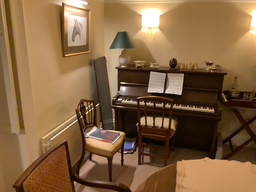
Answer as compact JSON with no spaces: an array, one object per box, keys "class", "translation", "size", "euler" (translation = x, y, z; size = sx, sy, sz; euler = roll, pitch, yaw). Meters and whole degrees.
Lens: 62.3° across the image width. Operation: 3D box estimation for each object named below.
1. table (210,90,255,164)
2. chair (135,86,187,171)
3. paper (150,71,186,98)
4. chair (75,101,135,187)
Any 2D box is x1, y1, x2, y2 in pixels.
[{"class":"table","translation":[1.600,0.410,2.890],"size":[0.750,0.820,0.490],"euler":[6,17,14]},{"class":"chair","translation":[0.420,0.390,2.730],"size":[0.560,0.920,0.440],"euler":[5,17,13]},{"class":"paper","translation":[0.540,-0.160,2.860],"size":[0.450,0.330,0.110],"euler":[5,0,18]},{"class":"chair","translation":[-0.240,0.520,2.460],"size":[0.530,0.770,0.470],"euler":[6,17,15]}]
